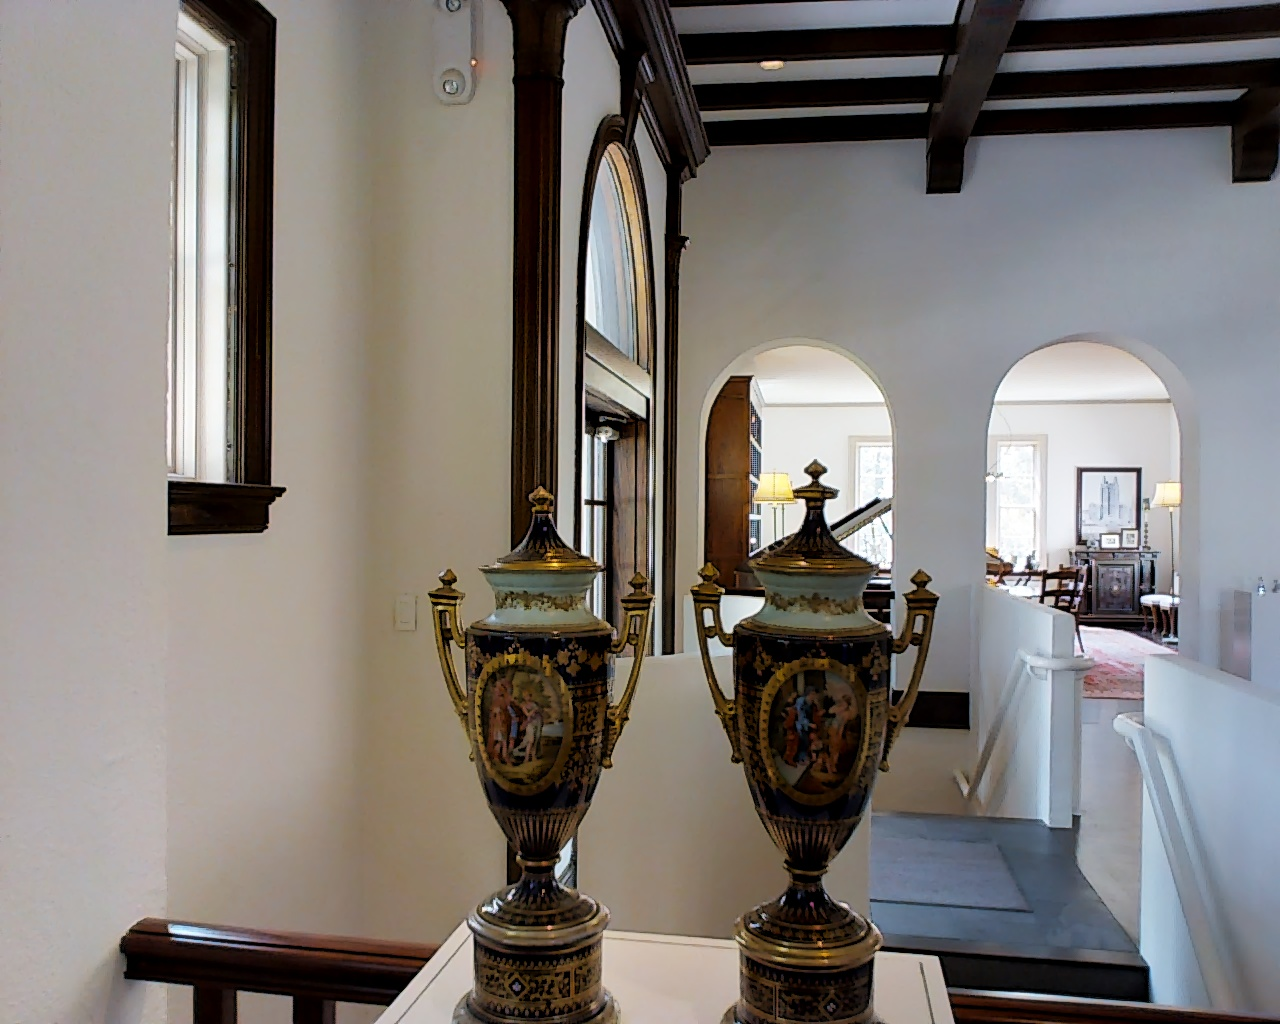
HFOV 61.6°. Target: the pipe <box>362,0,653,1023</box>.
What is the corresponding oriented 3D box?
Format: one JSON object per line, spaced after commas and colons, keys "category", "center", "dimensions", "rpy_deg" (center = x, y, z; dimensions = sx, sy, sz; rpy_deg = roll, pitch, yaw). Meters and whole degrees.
{"category": "pipe", "center": [-0.400, -0.370, 3.490], "dimensions": [0.780, 4.190, 0.540], "rpy_deg": [1, 0, 10]}
